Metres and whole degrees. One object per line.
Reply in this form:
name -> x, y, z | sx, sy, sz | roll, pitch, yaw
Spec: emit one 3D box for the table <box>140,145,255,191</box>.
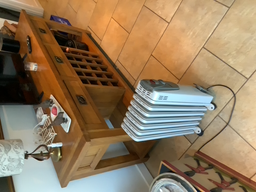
table -> 0.550, 0.700, 1.170 | 0.940, 0.430, 0.420 | 24, 106, 46
